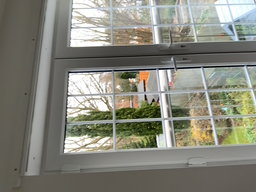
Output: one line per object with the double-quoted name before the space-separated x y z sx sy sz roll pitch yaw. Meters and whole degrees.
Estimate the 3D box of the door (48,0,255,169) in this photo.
"door" 0.460 -0.240 1.660 0.050 2.030 1.430 96 171 -71
